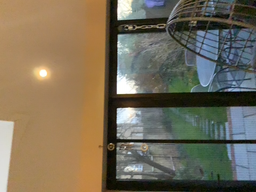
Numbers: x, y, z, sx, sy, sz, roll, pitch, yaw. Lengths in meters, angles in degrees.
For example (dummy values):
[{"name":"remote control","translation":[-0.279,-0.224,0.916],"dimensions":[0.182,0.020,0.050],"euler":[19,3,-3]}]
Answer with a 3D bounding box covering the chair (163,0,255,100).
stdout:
[{"name":"chair","translation":[0.890,-0.530,1.830],"dimensions":[0.880,1.070,0.950],"euler":[69,-160,-77]}]
